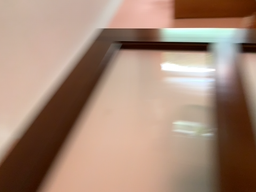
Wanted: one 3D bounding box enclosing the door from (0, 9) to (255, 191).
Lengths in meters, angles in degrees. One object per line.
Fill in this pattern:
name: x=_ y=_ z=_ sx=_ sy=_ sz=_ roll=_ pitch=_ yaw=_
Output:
door: x=0.690 y=0.080 z=0.300 sx=0.060 sy=2.070 sz=0.820 roll=78 pitch=-158 yaw=-45
